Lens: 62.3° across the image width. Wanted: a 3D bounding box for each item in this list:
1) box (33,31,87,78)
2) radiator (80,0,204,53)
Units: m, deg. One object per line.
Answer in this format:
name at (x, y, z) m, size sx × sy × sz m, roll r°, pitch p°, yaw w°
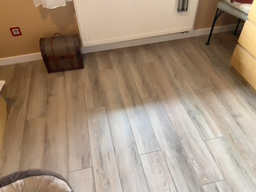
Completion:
box at (-0.650, -0.410, 2.110) m, size 0.430 × 0.330 × 0.260 m, roll -6°, pitch 46°, yaw -5°
radiator at (0.150, -0.840, 2.120) m, size 1.180 × 0.650 × 0.190 m, roll -10°, pitch 47°, yaw -9°
